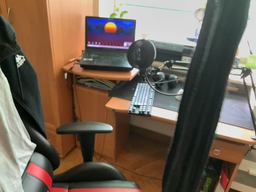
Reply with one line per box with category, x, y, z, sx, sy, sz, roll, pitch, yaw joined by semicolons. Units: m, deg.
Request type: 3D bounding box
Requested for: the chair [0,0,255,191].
chair;-0.270;0.360;0.790;0.690;1.370;0.660;2;28;-5
